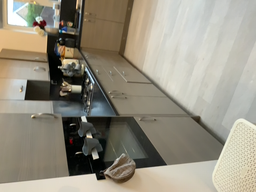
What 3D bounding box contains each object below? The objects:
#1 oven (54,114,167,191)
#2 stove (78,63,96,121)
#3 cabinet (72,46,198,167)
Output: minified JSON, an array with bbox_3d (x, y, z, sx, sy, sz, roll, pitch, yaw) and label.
[{"bbox_3d":[-0.190,0.540,1.560,0.580,0.590,0.590,-129,47,-56],"label":"oven"},{"bbox_3d":[-0.560,-0.070,2.800,0.580,0.050,0.570,-129,47,-56],"label":"stove"},{"bbox_3d":[-0.160,-0.070,2.990,2.240,0.890,0.610,-129,47,-56],"label":"cabinet"}]
